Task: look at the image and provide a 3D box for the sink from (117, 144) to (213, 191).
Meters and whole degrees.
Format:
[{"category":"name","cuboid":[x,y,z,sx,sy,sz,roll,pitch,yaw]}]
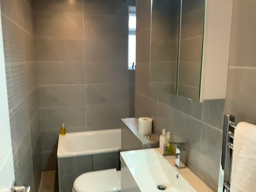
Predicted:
[{"category":"sink","cuboid":[0.170,0.490,1.270,0.350,0.130,0.640,-2,10,-15]}]
